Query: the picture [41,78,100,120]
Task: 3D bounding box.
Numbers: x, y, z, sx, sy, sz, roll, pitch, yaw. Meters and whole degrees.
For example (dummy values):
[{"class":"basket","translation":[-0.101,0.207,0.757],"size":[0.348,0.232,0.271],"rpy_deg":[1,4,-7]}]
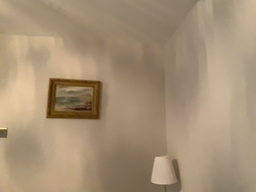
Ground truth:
[{"class":"picture","translation":[-0.530,0.030,2.010],"size":[0.520,0.380,0.050],"rpy_deg":[2,-10,-10]}]
